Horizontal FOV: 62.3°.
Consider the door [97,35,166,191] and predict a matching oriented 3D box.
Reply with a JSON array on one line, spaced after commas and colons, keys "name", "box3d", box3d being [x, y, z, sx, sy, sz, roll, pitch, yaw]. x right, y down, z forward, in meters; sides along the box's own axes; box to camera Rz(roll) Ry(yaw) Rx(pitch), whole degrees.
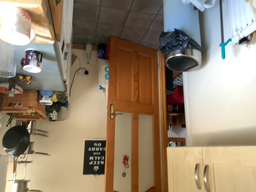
[{"name": "door", "box3d": [0.060, 0.300, 2.590, 0.830, 1.990, 0.160, 8, 164, -31]}]
